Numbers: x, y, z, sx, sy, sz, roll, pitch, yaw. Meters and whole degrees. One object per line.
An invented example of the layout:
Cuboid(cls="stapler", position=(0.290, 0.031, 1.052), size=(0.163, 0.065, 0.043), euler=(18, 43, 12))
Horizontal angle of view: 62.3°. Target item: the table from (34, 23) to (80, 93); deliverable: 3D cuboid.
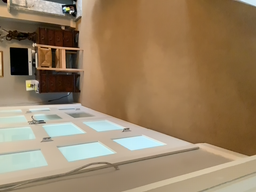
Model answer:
Cuboid(cls="table", position=(-1.430, -0.700, 4.260), size=(0.610, 0.740, 1.250), euler=(5, 96, 60))

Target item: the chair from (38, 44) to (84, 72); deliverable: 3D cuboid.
Cuboid(cls="chair", position=(-1.250, -0.690, 3.960), size=(0.420, 0.740, 0.400), euler=(-5, 88, 60))

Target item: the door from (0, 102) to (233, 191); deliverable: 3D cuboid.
Cuboid(cls="door", position=(-1.030, 0.350, 2.390), size=(3.370, 2.090, 0.200), euler=(7, 98, 60))
